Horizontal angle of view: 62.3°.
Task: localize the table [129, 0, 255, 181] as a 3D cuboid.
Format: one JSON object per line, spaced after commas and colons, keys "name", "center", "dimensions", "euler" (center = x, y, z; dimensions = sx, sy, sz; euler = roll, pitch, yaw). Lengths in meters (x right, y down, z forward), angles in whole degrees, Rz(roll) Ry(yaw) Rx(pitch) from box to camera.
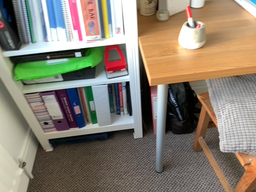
{"name": "table", "center": [0.640, -0.070, 1.160], "dimensions": [1.160, 0.720, 0.600], "euler": [-7, 43, -1]}
